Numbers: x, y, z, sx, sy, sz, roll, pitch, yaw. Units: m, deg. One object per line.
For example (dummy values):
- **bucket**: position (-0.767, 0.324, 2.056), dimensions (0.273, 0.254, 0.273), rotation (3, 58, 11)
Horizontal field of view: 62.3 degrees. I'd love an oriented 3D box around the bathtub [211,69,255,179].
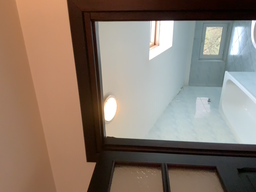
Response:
- **bathtub**: position (1.700, 0.240, 2.850), dimensions (1.710, 0.550, 0.690), rotation (-81, -8, -65)
